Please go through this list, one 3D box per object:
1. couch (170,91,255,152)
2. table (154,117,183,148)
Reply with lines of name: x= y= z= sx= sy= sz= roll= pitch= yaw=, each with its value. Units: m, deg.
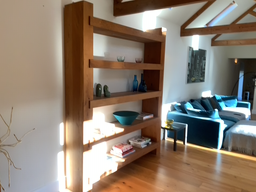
couch: x=2.630 y=0.470 z=6.040 sx=1.350 sy=0.860 sz=3.490 roll=7 pitch=10 yaw=37
table: x=0.910 y=0.790 z=4.750 sx=0.410 sy=0.510 sz=0.550 roll=7 pitch=10 yaw=37
